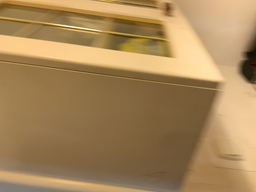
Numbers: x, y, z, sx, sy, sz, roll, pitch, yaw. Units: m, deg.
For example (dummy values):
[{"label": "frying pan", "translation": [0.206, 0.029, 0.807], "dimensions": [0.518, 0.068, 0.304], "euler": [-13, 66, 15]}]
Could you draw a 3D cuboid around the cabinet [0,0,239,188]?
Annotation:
[{"label": "cabinet", "translation": [-0.130, -0.180, 0.710], "dimensions": [0.790, 0.610, 0.290], "euler": [-83, 1, -55]}]
